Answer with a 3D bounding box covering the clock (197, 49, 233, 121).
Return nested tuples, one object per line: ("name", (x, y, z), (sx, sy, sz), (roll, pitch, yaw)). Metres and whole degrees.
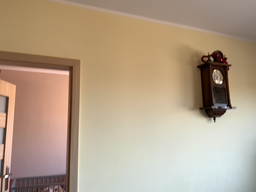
("clock", (0.860, -0.100, 2.100), (0.270, 0.690, 0.130), (3, -9, -21))
